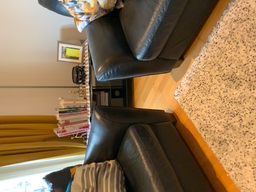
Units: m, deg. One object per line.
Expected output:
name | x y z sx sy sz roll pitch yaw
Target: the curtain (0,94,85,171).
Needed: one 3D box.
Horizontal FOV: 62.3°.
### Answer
curtain | -1.320 0.340 1.900 0.210 1.730 0.670 -61 41 44
